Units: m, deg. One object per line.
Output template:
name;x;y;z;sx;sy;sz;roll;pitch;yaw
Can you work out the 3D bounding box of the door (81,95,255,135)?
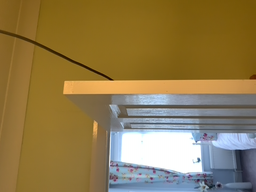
door;0.820;0.110;0.840;0.770;1.830;0.020;78;-167;-74
